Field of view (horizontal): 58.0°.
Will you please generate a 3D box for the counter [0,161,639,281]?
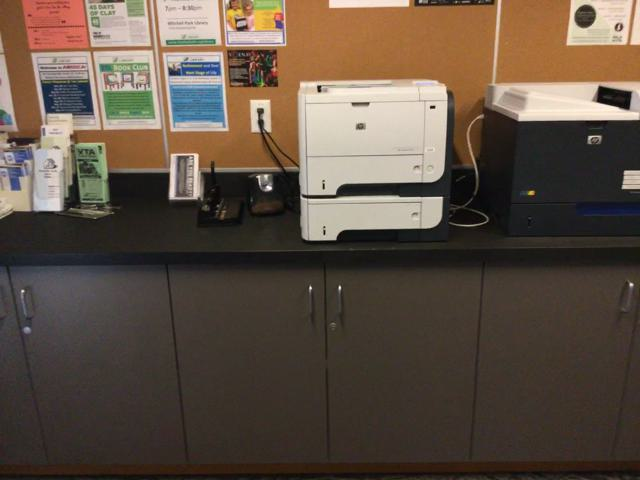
[{"bbox_3d":[0.070,-0.090,1.910,2.760,0.240,0.630,0,16,2],"label":"counter"}]
